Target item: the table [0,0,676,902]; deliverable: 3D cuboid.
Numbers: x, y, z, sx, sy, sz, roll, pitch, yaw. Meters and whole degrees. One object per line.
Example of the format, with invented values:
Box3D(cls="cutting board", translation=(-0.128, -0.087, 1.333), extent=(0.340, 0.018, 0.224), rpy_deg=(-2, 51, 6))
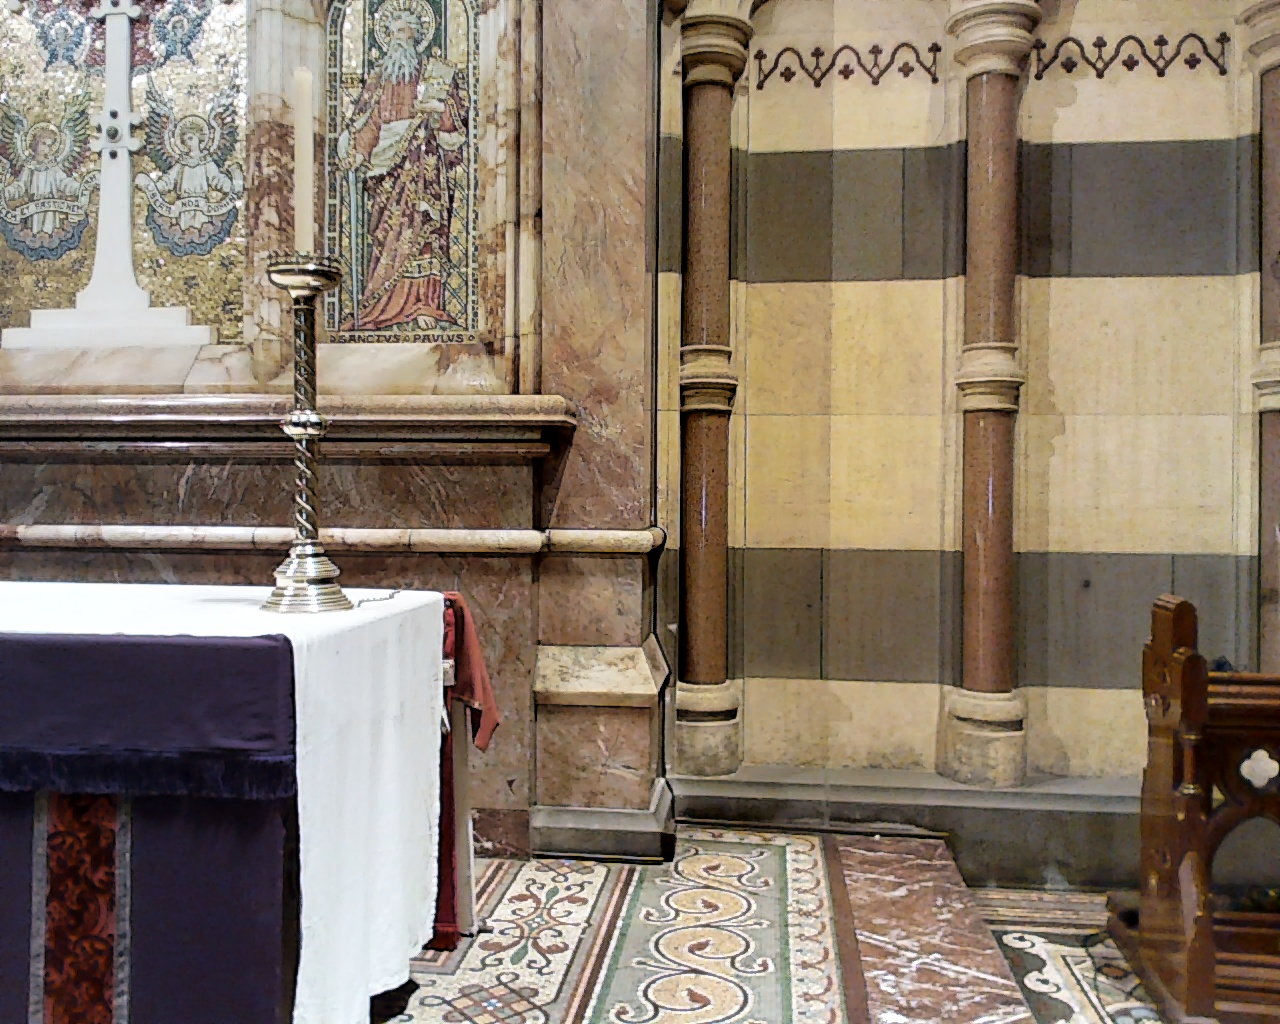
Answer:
Box3D(cls="table", translation=(-2.189, -1.200, 4.100), extent=(4.589, 4.861, 0.710), rpy_deg=(0, -2, 7))
